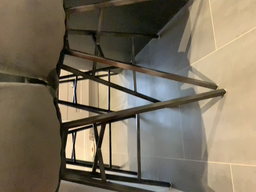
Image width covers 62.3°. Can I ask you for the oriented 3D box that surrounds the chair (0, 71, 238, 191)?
[{"bbox_3d":[-0.120,0.210,0.820,0.430,0.920,0.460,152,118,-67],"label":"chair"}]
